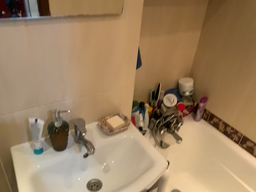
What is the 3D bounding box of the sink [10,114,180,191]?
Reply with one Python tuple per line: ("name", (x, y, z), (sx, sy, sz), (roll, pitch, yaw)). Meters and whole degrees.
("sink", (-0.130, 0.290, 0.820), (0.520, 0.130, 0.370), (-14, 37, -29))
